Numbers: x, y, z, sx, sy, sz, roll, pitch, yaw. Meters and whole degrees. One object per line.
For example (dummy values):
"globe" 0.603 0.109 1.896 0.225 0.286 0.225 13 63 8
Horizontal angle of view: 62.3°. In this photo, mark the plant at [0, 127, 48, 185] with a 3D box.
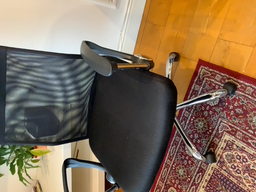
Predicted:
"plant" -0.860 0.460 1.640 0.150 0.390 0.360 35 117 43
